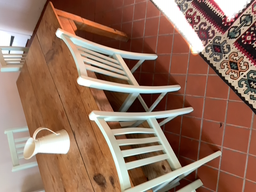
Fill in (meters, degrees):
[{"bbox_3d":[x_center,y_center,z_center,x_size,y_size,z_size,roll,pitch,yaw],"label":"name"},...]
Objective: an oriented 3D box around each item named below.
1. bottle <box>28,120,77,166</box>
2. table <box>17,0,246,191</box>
[{"bbox_3d":[-0.430,0.260,1.200,0.170,0.180,0.170,-50,57,32],"label":"bottle"},{"bbox_3d":[-0.080,0.340,1.510,0.870,0.760,1.830,-47,58,33],"label":"table"}]
